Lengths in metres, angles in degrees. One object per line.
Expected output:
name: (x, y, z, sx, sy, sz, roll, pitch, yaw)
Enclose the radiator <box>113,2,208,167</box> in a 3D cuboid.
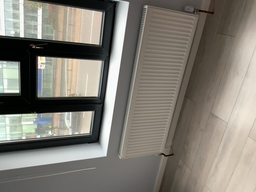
radiator: (0.250, 0.000, 1.910, 0.070, 0.570, 1.470, -134, 49, -55)
